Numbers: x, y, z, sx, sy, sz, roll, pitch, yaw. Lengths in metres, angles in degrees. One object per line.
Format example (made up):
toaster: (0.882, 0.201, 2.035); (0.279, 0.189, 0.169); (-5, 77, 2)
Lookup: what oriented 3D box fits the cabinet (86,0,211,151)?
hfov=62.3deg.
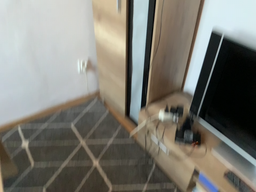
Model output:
cabinet: (0.080, -0.570, 1.310); (0.450, 1.870, 0.660); (-20, 44, -26)

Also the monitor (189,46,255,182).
monitor: (0.630, 0.200, 0.870); (0.040, 0.510, 0.850); (-20, 44, -26)
